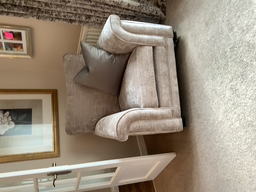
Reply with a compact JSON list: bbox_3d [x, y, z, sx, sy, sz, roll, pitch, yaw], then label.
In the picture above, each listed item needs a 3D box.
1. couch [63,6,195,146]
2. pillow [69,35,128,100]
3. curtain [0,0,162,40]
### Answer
[{"bbox_3d":[-0.090,-0.090,2.030,0.930,0.910,0.970,158,110,-66],"label":"couch"},{"bbox_3d":[-0.270,-0.250,1.960,0.230,0.420,0.440,-91,20,-54],"label":"pillow"},{"bbox_3d":[-0.780,-0.780,1.790,0.430,2.200,0.130,120,143,-51],"label":"curtain"}]
